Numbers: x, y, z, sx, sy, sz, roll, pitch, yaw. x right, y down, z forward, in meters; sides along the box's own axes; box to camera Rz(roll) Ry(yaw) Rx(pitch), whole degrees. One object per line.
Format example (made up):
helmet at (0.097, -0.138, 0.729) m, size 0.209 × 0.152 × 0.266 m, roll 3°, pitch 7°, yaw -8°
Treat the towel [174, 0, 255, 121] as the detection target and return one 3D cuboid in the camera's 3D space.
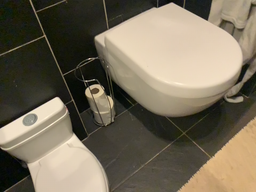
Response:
towel at (0.520, -0.350, 0.950) m, size 0.300 × 0.870 × 0.450 m, roll -33°, pitch 56°, yaw -21°
